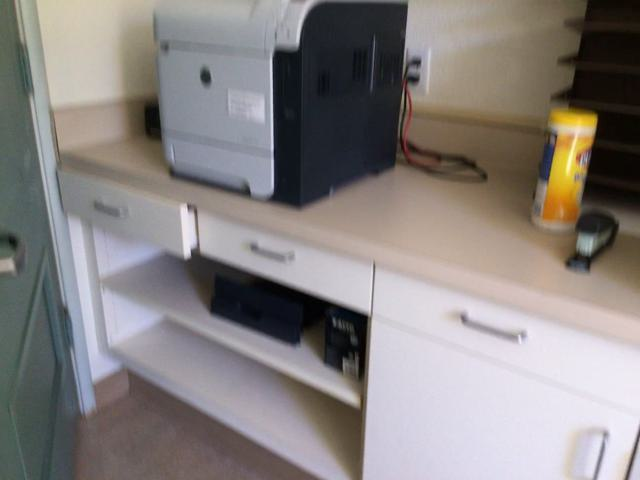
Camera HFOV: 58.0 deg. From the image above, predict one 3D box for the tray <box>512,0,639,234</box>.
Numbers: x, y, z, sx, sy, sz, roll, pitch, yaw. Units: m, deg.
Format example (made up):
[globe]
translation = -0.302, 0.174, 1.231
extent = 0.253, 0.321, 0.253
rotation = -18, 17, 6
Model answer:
[tray]
translation = 0.640, -0.280, 1.210
extent = 0.320, 0.450, 0.240
rotation = 19, 27, 32

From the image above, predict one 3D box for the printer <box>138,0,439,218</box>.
[printer]
translation = -0.060, -0.370, 1.400
extent = 0.440, 0.410, 0.550
rotation = 19, 27, 32
